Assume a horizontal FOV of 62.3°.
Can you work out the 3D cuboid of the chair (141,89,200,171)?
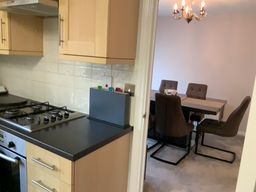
[{"bbox_3d":[0.620,0.430,3.080,0.530,0.950,0.650,12,14,33],"label":"chair"}]

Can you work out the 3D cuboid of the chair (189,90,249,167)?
[{"bbox_3d":[1.390,0.450,3.250,0.620,0.950,0.520,12,14,34],"label":"chair"}]
